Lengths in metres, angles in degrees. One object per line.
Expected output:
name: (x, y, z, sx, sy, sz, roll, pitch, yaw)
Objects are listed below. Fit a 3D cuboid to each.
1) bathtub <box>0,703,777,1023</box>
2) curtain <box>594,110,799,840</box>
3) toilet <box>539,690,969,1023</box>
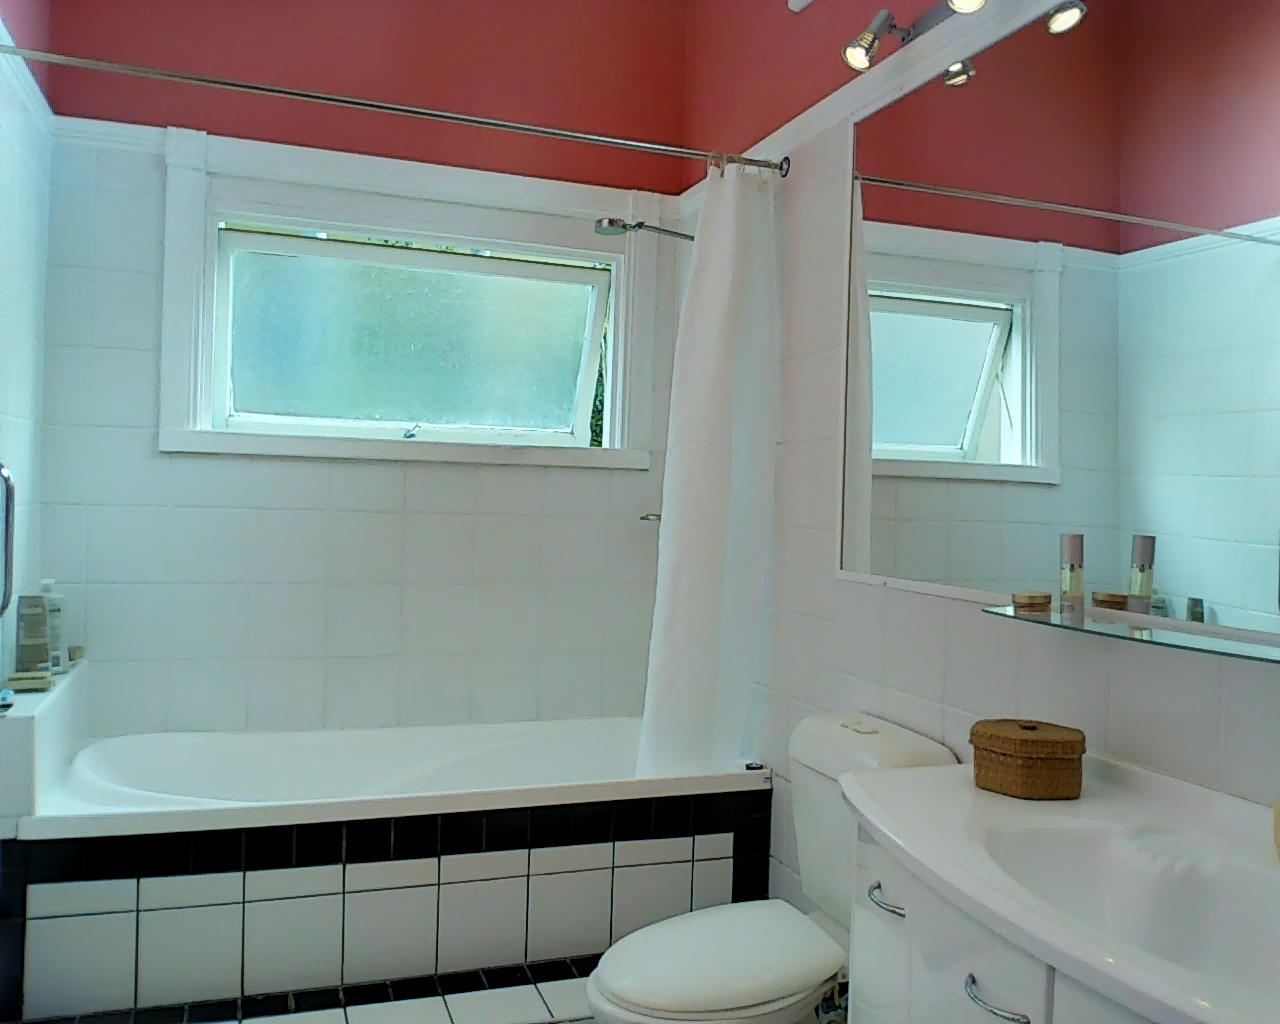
bathtub: (-0.650, 0.870, 2.670, 1.799, 0.600, 0.750, 2, 1, -20)
curtain: (0.130, -0.080, 2.680, 0.340, 1.671, 0.340, 2, 1, -20)
toilet: (0.190, 0.820, 2.020, 0.650, 0.880, 0.440, 2, 1, -20)
